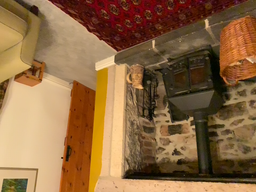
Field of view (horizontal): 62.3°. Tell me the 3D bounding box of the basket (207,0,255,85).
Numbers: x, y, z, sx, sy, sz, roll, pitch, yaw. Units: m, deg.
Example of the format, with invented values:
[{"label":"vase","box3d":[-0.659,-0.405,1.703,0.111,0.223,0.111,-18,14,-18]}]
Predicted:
[{"label":"basket","box3d":[1.010,-0.440,1.840,0.460,0.490,0.450,-13,156,33]}]
